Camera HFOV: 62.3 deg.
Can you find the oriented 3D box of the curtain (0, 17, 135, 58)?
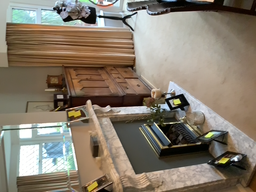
[{"bbox_3d":[-1.080,-1.080,4.080,0.230,2.470,0.570,135,130,-63],"label":"curtain"}]

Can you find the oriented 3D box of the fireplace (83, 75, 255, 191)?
[{"bbox_3d":[0.260,0.380,2.280,1.570,1.210,0.680,-126,39,-56],"label":"fireplace"}]
